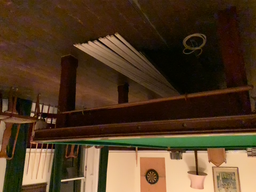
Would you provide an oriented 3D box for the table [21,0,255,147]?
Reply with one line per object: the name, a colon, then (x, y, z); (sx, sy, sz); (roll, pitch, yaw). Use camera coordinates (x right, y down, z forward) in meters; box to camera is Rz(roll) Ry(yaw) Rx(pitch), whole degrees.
table: (0.840, 0.280, 3.170); (2.050, 0.870, 3.820); (-7, 164, 27)
